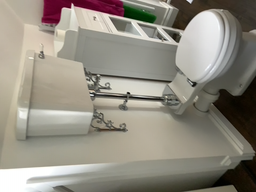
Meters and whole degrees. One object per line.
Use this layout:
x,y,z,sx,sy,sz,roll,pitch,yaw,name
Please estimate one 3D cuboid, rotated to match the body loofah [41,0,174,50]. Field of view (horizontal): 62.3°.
-0.170,-0.720,1.950,0.220,1.140,0.350,-113,36,-46,body loofah
